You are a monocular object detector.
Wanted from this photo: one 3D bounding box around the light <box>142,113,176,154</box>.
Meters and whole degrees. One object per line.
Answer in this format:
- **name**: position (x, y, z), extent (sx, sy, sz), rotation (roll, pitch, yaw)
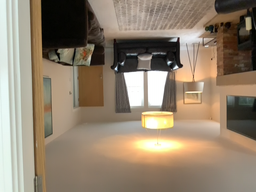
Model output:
- **light**: position (0.570, 0.680, 4.070), extent (0.560, 0.640, 0.690), rotation (-1, -178, 2)
